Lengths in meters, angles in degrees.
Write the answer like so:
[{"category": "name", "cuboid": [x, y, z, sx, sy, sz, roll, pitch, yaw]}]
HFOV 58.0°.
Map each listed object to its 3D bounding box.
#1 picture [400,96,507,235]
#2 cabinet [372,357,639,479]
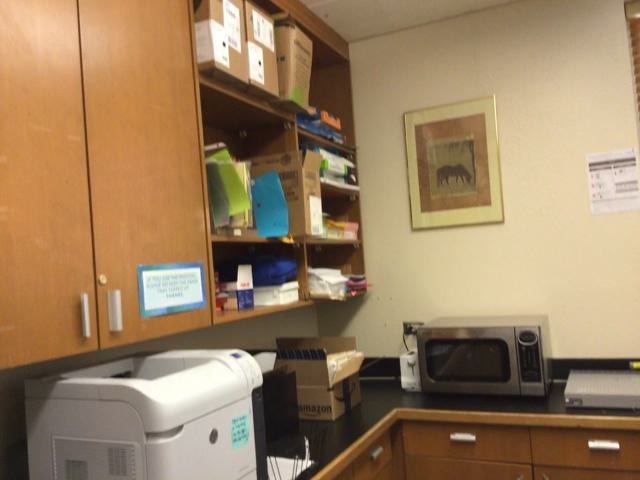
[{"category": "picture", "cuboid": [0.640, -0.350, 2.800, 0.440, 0.600, 0.070, -8, -7, 24]}, {"category": "cabinet", "cuboid": [1.090, 0.980, 2.260, 1.550, 0.910, 0.630, -8, -4, 24]}]
